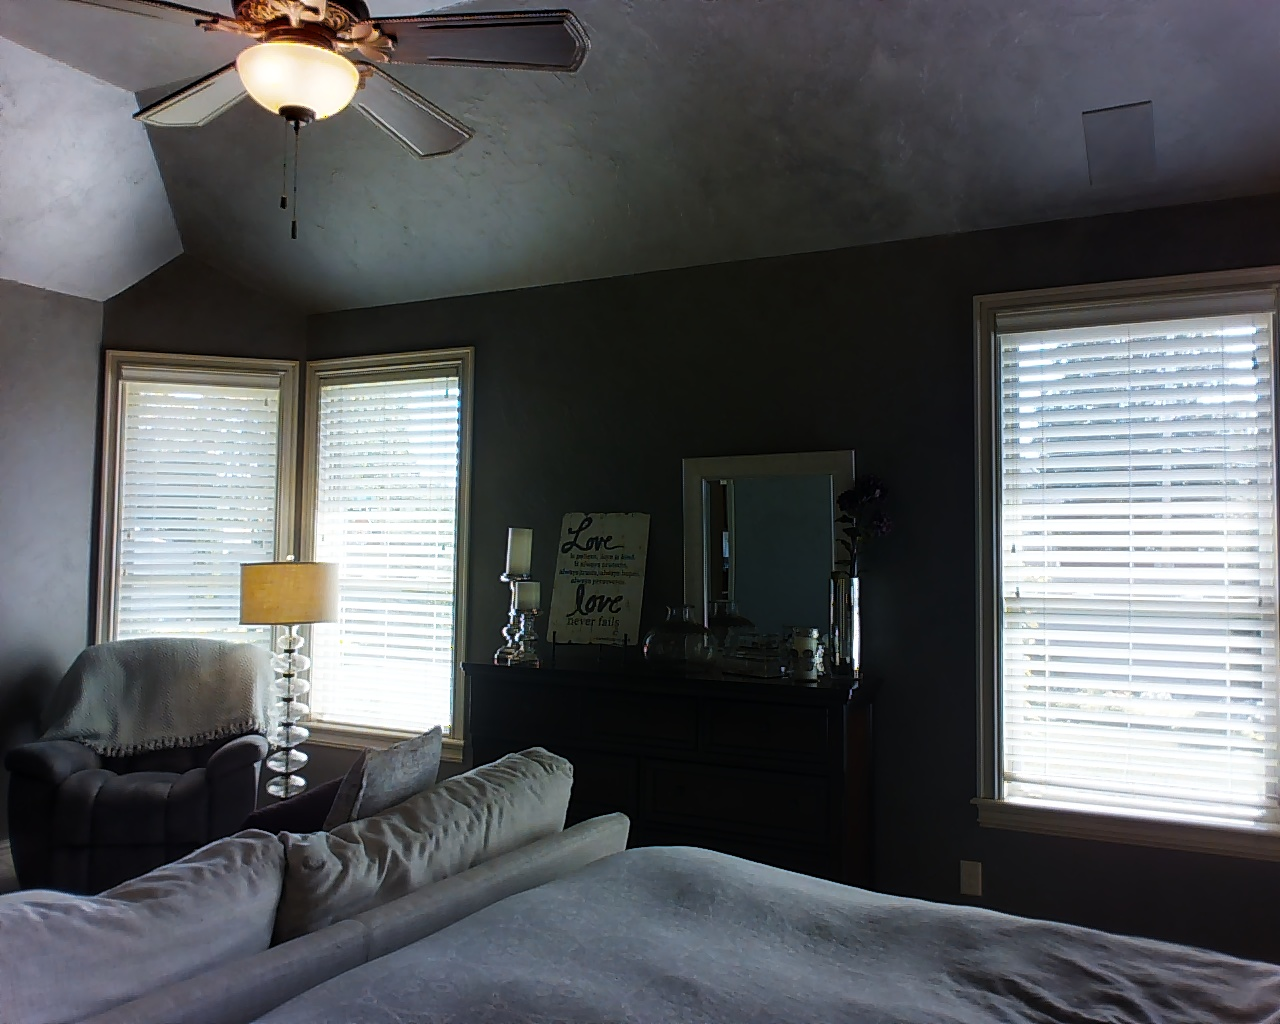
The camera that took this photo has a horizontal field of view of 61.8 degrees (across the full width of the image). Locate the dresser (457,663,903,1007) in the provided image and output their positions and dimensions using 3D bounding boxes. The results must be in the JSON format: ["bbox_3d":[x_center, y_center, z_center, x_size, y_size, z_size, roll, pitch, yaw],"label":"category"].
[{"bbox_3d":[0.130,1.180,4.250,1.700,1.020,0.520,-1,-4,28],"label":"dresser"}]

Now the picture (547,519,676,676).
[{"bbox_3d":[-0.120,0.360,4.610,0.450,0.630,0.220,-1,9,27],"label":"picture"}]
